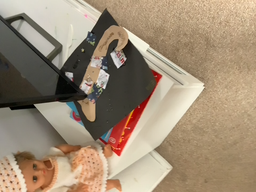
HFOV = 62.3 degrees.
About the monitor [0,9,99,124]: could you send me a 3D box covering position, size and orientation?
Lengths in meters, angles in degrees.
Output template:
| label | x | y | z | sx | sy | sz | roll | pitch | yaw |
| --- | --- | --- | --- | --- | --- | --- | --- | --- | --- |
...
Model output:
| label | x | y | z | sx | sy | sz | roll | pitch | yaw |
| --- | --- | --- | --- | --- | --- | --- | --- | --- | --- |
| monitor | -0.480 | -0.180 | 0.630 | 0.720 | 0.460 | 0.060 | 39 | 110 | 21 |
